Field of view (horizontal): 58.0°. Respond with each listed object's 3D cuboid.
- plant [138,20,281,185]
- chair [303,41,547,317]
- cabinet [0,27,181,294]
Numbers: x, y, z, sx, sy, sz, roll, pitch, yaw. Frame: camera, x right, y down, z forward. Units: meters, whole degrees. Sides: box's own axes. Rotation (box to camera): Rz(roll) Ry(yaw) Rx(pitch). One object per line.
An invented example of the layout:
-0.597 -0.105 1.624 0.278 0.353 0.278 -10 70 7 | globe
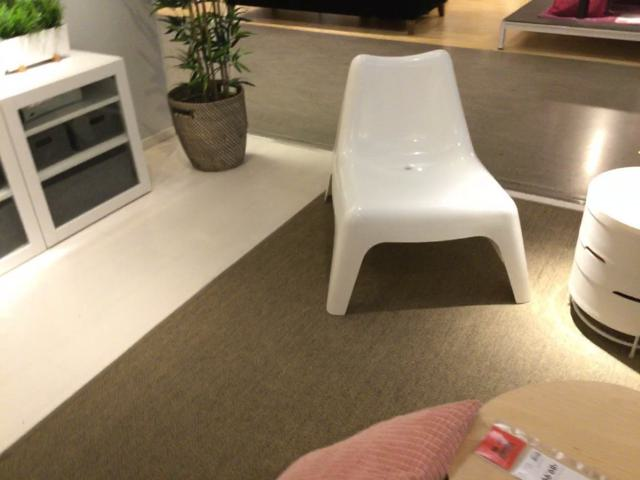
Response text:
-0.530 -0.700 2.890 0.480 0.650 0.380 -27 37 -33 | plant
0.320 -0.260 2.140 0.690 0.710 0.760 -5 30 2 | chair
-1.410 -0.190 2.110 0.510 0.740 1.860 15 36 29 | cabinet
